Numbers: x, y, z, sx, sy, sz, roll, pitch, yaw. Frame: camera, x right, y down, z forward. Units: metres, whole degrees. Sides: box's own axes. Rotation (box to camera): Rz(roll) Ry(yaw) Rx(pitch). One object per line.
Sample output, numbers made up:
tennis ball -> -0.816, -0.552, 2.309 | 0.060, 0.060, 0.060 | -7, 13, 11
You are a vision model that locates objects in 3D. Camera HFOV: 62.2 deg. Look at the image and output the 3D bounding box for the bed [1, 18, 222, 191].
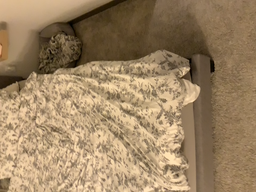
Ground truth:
bed -> -0.410, 0.720, 1.870 | 2.200, 0.570, 2.070 | -2, 88, 42
